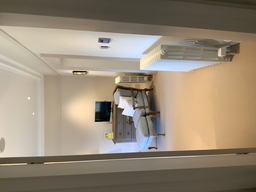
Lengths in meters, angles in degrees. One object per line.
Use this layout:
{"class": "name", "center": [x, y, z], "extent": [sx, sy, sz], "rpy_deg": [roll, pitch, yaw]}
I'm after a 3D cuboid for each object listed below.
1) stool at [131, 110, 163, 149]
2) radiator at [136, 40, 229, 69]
{"class": "stool", "center": [0.390, 0.750, 4.720], "extent": [0.770, 0.470, 0.540], "rpy_deg": [104, 163, -51]}
{"class": "radiator", "center": [0.580, -0.470, 2.610], "extent": [0.950, 0.770, 0.190], "rpy_deg": [-166, 76, -78]}
